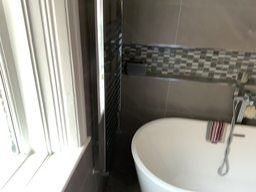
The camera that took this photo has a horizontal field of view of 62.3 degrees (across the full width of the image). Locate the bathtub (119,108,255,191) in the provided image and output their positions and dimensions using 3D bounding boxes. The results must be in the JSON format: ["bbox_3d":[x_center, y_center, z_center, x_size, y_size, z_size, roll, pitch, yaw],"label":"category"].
[{"bbox_3d":[0.840,0.650,1.570,1.700,0.580,0.850,7,27,6],"label":"bathtub"}]
